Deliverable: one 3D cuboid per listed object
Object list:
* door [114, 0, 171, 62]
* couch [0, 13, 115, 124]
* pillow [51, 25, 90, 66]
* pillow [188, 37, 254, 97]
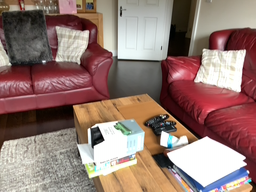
[{"bbox_3d":[0.250,-1.630,3.780,0.970,2.020,0.170,3,26,3],"label":"door"},{"bbox_3d":[-1.100,-0.400,2.400,1.660,0.910,1.010,-9,28,-21],"label":"couch"},{"bbox_3d":[-0.680,-0.600,2.500,0.360,0.370,0.190,19,22,11],"label":"pillow"},{"bbox_3d":[0.920,-0.280,2.160,0.420,0.420,0.240,37,10,14],"label":"pillow"}]
